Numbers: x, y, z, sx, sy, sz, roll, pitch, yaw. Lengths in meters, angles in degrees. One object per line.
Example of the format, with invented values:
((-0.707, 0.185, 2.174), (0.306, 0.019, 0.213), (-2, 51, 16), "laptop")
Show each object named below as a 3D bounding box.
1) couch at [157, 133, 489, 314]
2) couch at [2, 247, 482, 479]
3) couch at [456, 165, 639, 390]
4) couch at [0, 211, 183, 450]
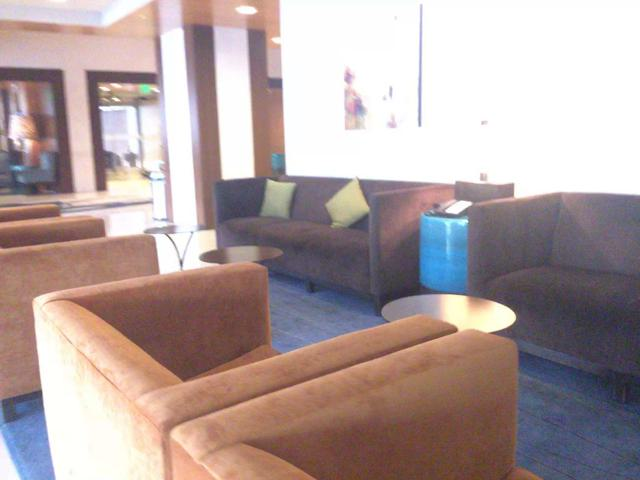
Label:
((-0.160, -0.310, 4.620), (1.030, 0.970, 2.790), (-13, 16, -39), "couch")
((-0.250, 0.550, 1.650), (0.840, 0.780, 1.090), (-13, 16, -39), "couch")
((1.780, 0.180, 2.270), (0.820, 0.800, 2.400), (-13, 16, -39), "couch")
((-1.360, 0.350, 2.930), (0.860, 0.790, 0.980), (-13, 16, -39), "couch")
